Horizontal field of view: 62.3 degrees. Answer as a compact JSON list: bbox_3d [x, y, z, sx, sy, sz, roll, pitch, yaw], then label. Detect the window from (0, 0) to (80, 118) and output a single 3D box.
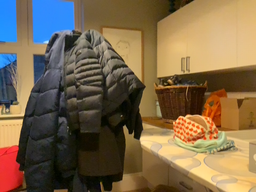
[{"bbox_3d":[-1.230,-0.560,2.410,1.280,1.560,0.350,-1,2,-22],"label":"window"}]
